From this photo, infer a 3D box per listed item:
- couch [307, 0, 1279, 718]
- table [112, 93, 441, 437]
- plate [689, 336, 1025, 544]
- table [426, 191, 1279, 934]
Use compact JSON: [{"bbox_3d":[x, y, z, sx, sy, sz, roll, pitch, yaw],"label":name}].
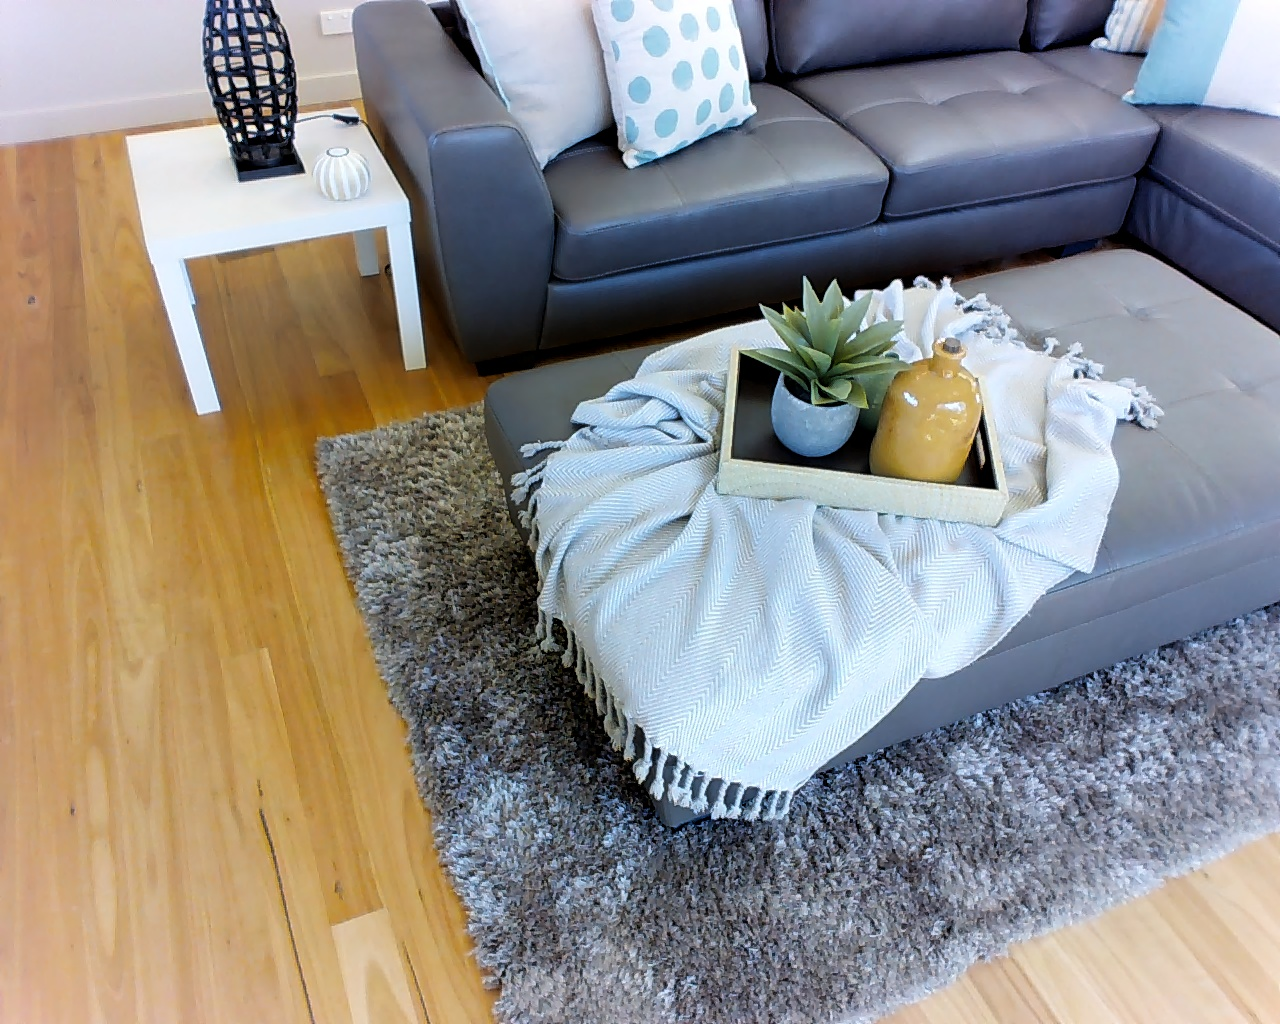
[{"bbox_3d":[0.950,-0.940,2.740,3.140,0.880,1.930,-14,45,-18],"label":"couch"},{"bbox_3d":[-0.890,-0.630,2.620,0.620,0.470,0.690,-12,44,-16],"label":"table"},{"bbox_3d":[0.340,-0.130,1.750,0.490,0.070,0.390,5,42,3],"label":"plate"},{"bbox_3d":[0.560,-0.050,2.010,1.660,0.480,0.960,-15,45,-18],"label":"table"}]
